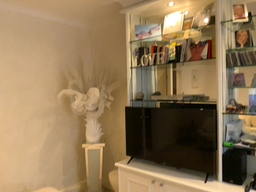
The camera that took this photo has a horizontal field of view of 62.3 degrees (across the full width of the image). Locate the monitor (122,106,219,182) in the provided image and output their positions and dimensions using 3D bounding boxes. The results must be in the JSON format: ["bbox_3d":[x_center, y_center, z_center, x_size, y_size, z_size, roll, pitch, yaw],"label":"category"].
[{"bbox_3d":[0.370,0.420,2.130,1.010,0.610,0.090,0,3,37],"label":"monitor"}]
